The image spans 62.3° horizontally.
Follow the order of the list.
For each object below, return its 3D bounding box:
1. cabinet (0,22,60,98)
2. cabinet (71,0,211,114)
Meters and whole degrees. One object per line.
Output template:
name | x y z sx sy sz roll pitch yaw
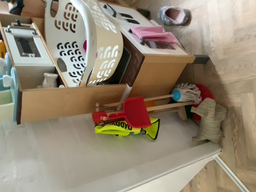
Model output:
cabinet | -0.520 -0.190 1.090 0.340 0.200 0.210 54 134 34
cabinet | 0.040 -0.310 1.430 0.720 0.550 0.390 54 134 34
